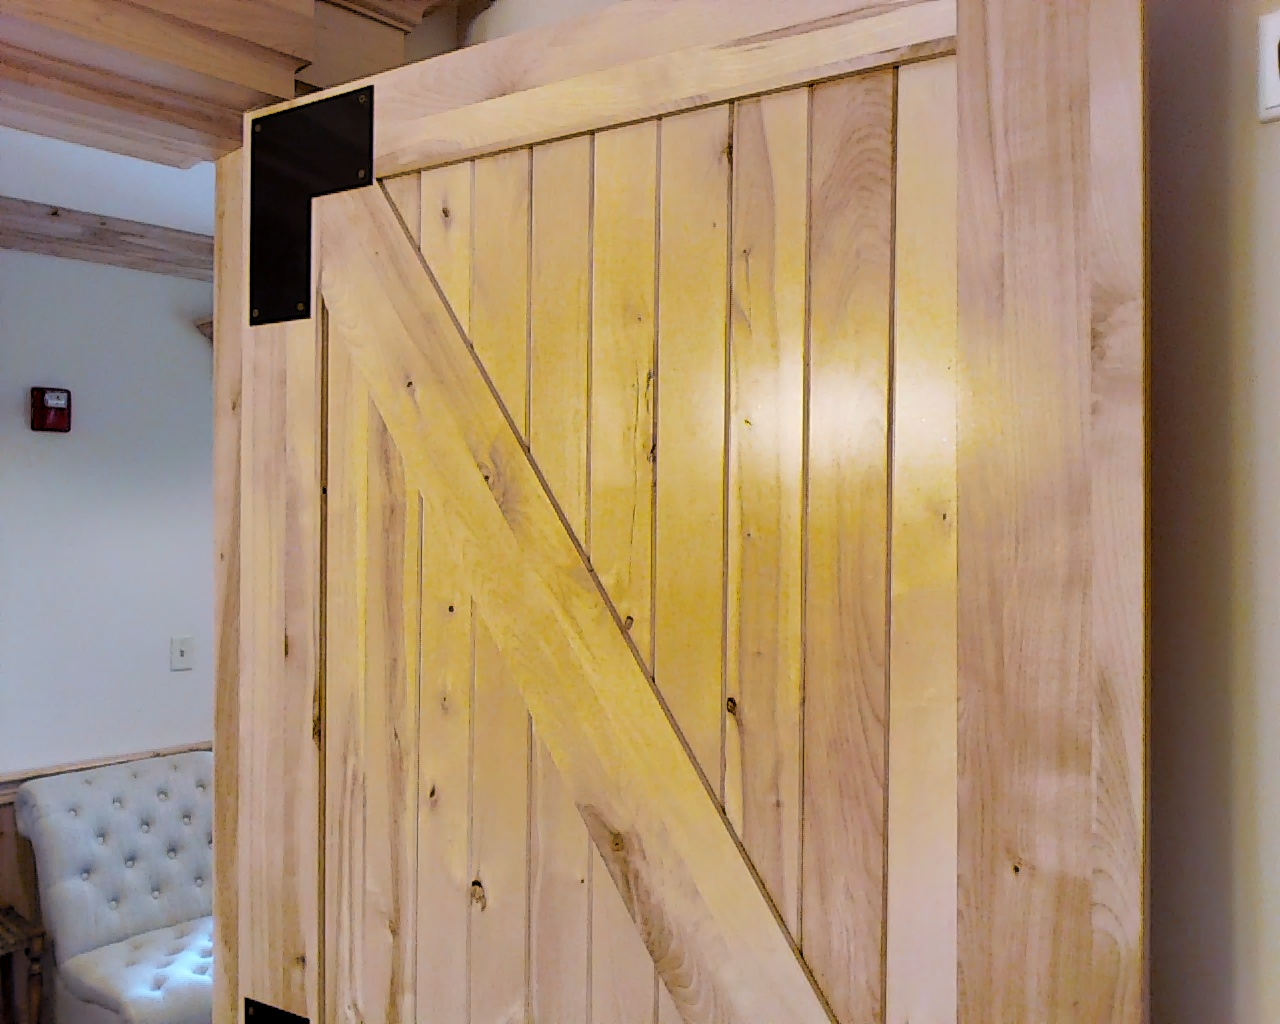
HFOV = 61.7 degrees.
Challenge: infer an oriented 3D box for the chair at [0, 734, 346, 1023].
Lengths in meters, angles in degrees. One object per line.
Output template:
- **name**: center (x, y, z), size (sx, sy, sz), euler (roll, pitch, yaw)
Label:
- **chair**: center (-1.410, 1.220, 3.190), size (0.960, 0.900, 0.610), euler (-1, -1, 42)
